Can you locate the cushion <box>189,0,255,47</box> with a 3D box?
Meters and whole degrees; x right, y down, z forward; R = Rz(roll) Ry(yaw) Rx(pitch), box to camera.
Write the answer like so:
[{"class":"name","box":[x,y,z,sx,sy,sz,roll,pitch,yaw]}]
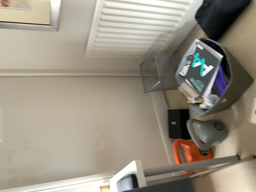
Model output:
[{"class":"cushion","box":[0.630,-0.600,1.300,0.600,0.130,0.240,122,140,-53]}]
